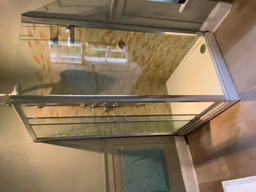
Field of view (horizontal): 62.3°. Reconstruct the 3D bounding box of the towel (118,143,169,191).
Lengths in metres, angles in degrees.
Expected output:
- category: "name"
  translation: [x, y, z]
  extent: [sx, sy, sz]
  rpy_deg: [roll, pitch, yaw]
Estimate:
- category: "towel"
  translation: [0.190, 0.930, 2.710]
  extent: [0.060, 0.570, 0.610]
  rpy_deg: [116, 150, -58]
